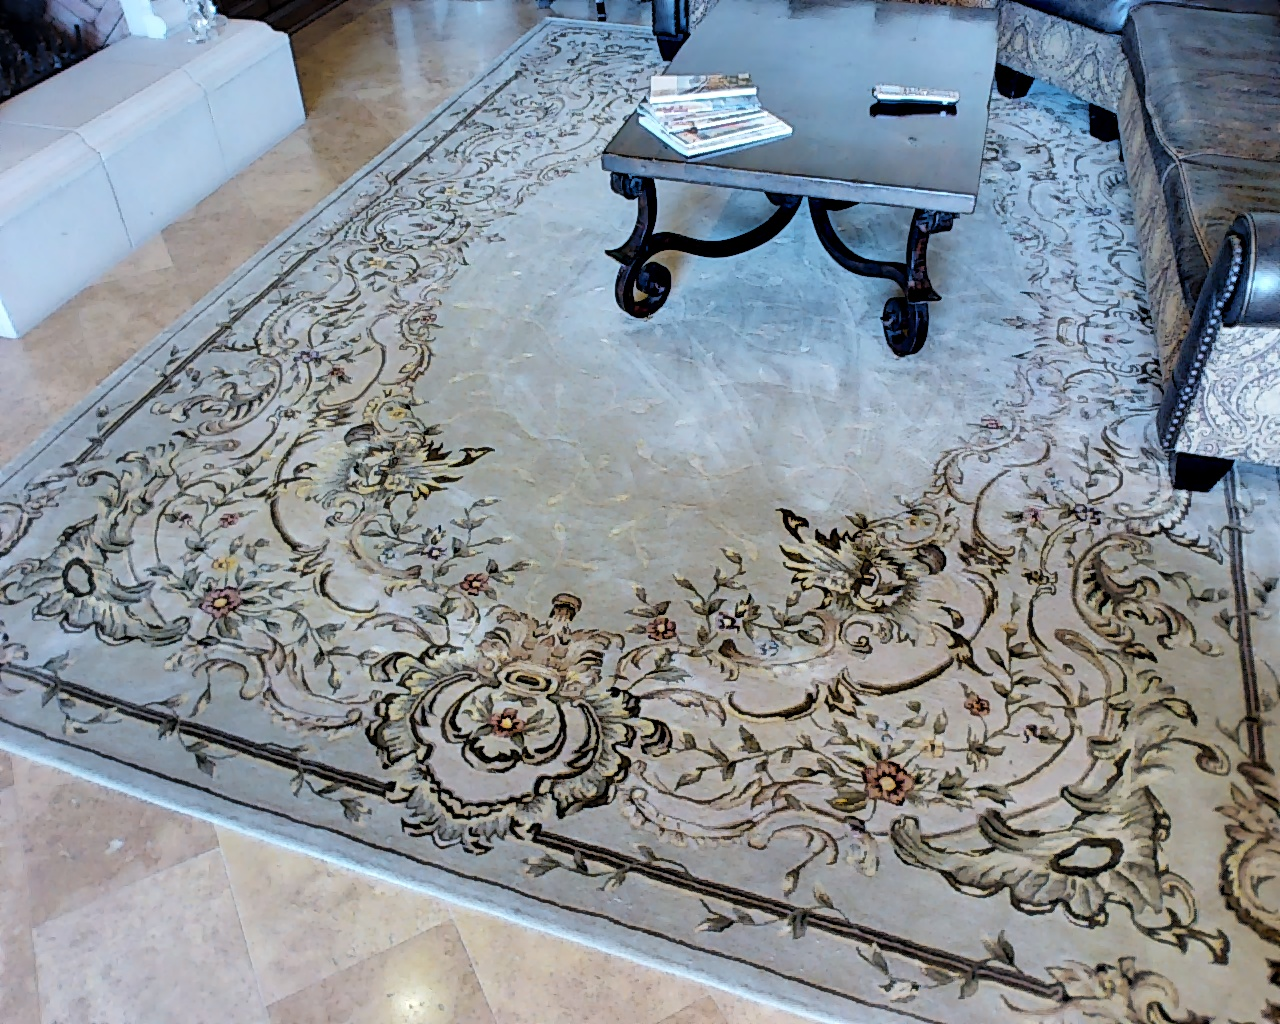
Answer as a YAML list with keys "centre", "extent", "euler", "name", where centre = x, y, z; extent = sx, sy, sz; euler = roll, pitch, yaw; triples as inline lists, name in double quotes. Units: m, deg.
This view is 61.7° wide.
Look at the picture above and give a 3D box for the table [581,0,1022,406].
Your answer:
- centre: [0.550, -1.040, 3.210]
  extent: [1.020, 0.540, 1.500]
  euler: [9, 43, 12]
  name: "table"
